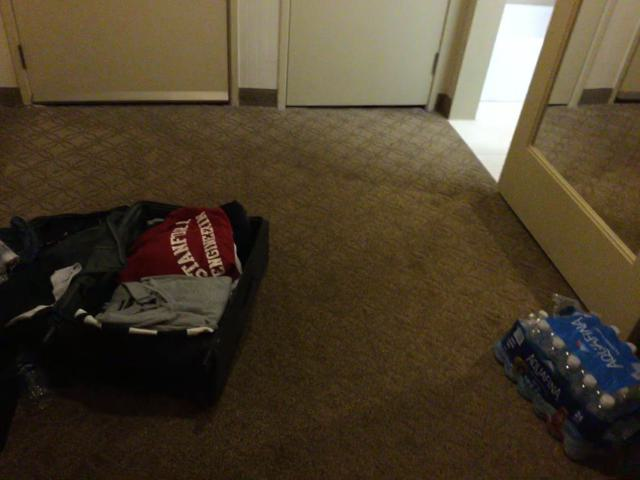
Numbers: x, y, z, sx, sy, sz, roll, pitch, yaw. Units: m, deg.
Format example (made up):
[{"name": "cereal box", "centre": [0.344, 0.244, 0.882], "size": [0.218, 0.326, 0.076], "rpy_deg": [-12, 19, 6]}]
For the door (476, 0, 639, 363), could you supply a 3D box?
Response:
[{"name": "door", "centre": [0.860, -0.440, 1.730], "size": [0.130, 1.260, 0.980], "rpy_deg": [-1, 35, -10]}]

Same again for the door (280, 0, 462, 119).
[{"name": "door", "centre": [0.290, -1.510, 2.390], "size": [0.800, 2.080, 0.120], "rpy_deg": [-1, 35, -10]}]
